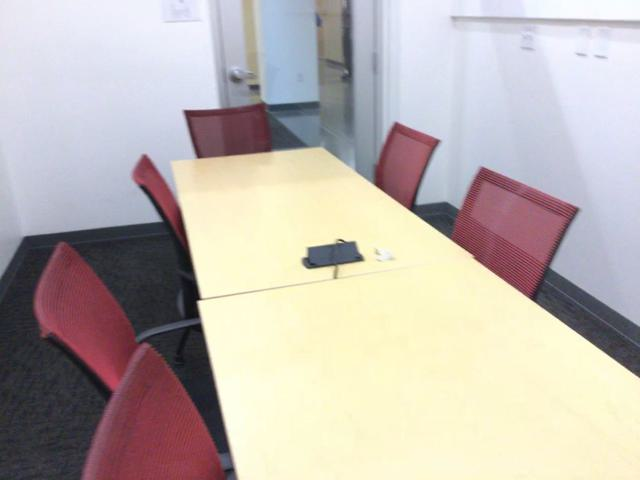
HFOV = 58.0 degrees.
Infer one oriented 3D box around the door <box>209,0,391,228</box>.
[{"bbox_3d":[-0.120,-1.490,3.460,1.080,2.850,0.180,-7,23,-9],"label":"door"}]
